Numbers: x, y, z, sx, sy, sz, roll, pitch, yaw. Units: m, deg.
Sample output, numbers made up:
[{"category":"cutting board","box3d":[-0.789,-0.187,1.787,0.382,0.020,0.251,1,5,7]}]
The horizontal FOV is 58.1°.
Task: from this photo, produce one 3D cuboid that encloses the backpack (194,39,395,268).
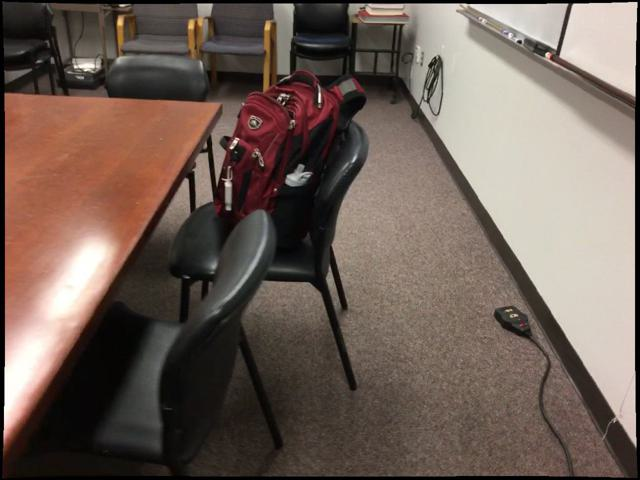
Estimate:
[{"category":"backpack","box3d":[-0.070,-0.251,1.800,0.379,0.601,0.270,2,29,44]}]
